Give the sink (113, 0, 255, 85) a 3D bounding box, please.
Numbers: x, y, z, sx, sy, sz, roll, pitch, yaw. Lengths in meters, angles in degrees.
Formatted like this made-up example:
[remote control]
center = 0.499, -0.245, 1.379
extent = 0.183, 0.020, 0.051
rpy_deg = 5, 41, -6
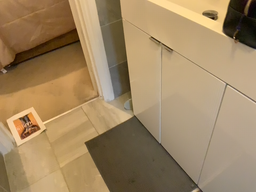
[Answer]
[sink]
center = 0.290, -0.350, 0.830
extent = 0.450, 0.140, 0.620
rpy_deg = -28, 47, -19
